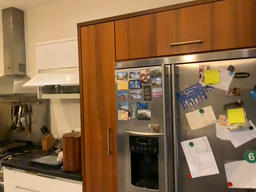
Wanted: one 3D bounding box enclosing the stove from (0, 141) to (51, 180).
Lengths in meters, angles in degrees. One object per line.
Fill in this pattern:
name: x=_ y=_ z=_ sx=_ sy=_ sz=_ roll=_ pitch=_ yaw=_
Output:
stove: x=-1.540 y=0.750 z=2.600 sx=0.990 sy=0.170 sz=0.580 roll=0 pitch=2 yaw=26
